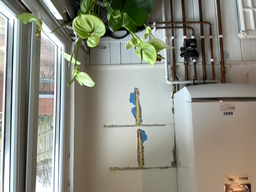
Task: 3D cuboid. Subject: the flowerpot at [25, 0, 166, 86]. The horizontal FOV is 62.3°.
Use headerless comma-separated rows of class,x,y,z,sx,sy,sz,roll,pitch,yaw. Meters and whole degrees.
flowerpot,-0.090,-0.370,0.790,0.390,0.610,0.350,-1,173,2
